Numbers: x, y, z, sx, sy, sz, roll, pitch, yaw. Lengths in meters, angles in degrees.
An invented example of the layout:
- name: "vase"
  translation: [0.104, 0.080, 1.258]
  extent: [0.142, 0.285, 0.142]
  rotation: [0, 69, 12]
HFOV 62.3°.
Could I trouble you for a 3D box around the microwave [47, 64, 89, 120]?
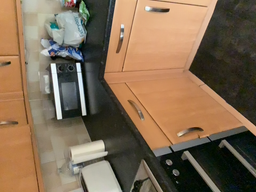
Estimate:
- name: "microwave"
  translation: [-0.510, -0.030, 1.780]
  extent: [0.260, 0.240, 0.420]
  rotation: [-12, 85, 62]
